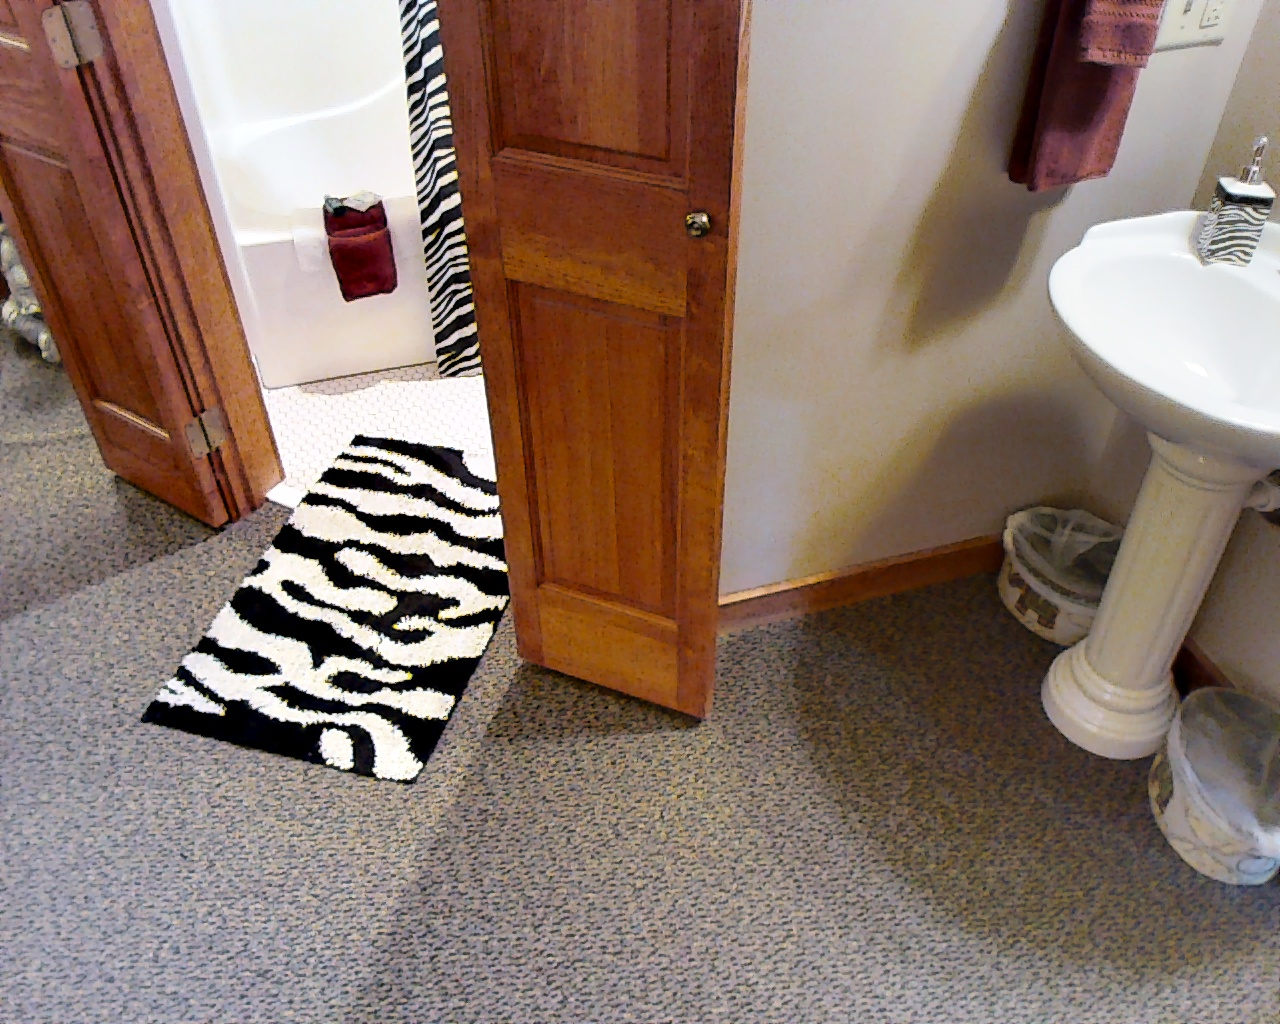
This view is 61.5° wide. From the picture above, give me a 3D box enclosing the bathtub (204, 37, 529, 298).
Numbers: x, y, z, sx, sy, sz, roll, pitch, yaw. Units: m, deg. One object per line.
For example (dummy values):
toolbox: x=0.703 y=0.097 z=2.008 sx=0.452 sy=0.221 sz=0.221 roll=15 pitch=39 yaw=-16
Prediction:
bathtub: x=-0.740 y=-0.960 z=2.980 sx=0.760 sy=0.490 sz=0.370 roll=-12 pitch=43 yaw=-12
